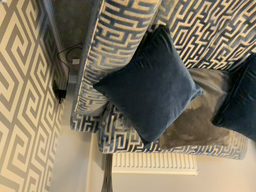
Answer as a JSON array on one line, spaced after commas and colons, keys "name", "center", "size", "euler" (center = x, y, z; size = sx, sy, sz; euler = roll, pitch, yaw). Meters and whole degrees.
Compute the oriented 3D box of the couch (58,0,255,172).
[{"name": "couch", "center": [0.430, -0.120, 1.230], "size": [1.380, 0.740, 1.180], "euler": [11, 147, -18]}]
